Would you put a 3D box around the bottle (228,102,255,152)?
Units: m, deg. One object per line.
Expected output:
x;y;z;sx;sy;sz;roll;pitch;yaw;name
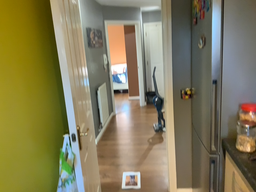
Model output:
0.690;0.160;1.170;0.180;0.200;0.220;-3;13;6;bottle
